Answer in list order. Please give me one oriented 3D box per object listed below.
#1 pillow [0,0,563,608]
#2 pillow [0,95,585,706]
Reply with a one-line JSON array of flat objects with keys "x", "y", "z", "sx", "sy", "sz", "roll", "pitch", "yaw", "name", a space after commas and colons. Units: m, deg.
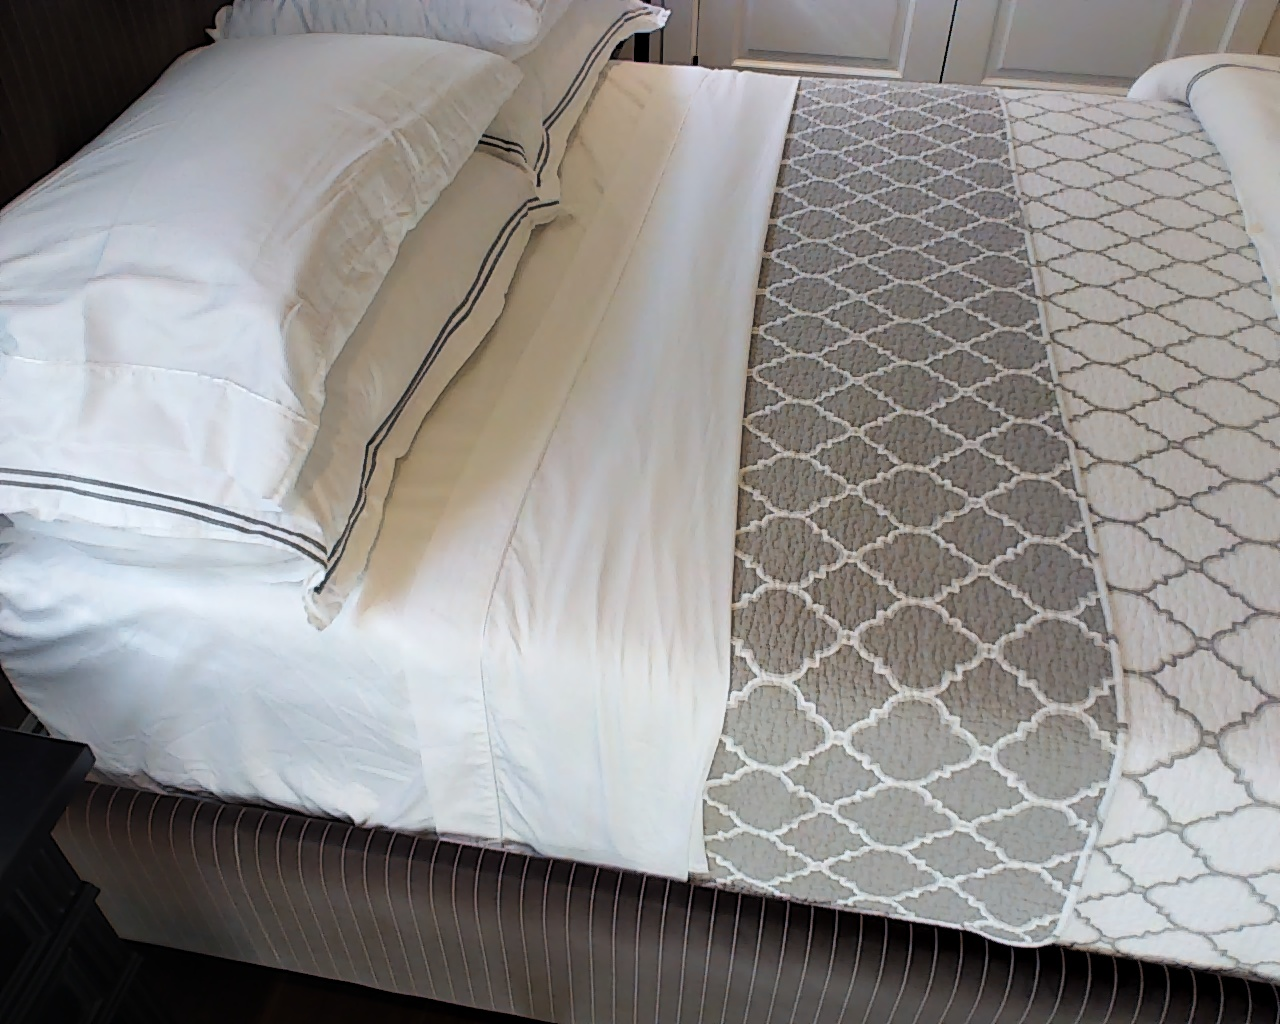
[{"x": -0.430, "y": -0.330, "z": 1.190, "sx": 0.470, "sy": 0.250, "sz": 0.880, "roll": 8, "pitch": 42, "yaw": 8, "name": "pillow"}, {"x": -0.420, "y": -0.220, "z": 1.300, "sx": 0.510, "sy": 0.200, "sz": 0.900, "roll": 7, "pitch": 42, "yaw": 8, "name": "pillow"}]
